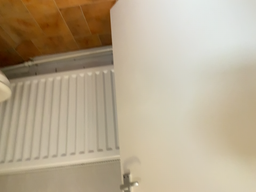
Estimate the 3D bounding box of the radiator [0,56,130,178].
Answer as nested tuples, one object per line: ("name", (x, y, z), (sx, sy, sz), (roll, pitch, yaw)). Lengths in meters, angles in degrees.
("radiator", (-0.530, 0.120, 1.330), (1.020, 0.680, 0.120), (-6, 156, 0))
